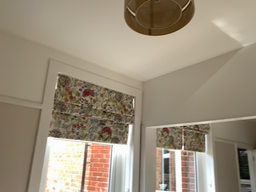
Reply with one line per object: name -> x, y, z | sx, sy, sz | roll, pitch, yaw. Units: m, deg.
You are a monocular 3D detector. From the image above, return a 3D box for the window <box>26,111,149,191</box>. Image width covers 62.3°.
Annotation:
window -> -0.370, 0.910, 2.070 | 1.030, 1.290, 0.540 | 15, -21, -36

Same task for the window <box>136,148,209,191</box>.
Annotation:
window -> 0.660, 1.290, 3.050 | 1.040, 0.980, 0.460 | 16, -21, -37
